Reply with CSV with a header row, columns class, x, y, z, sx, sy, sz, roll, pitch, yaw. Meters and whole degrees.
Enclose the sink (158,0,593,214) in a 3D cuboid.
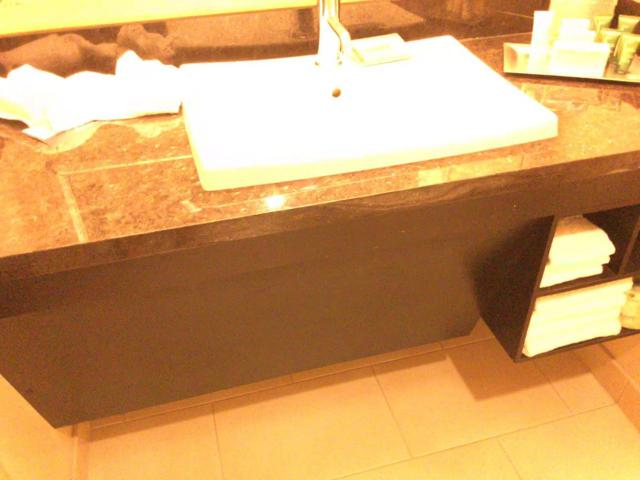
class,x,y,z,sx,sy,sz,roll,pitch,yaw
sink,0.080,-0.300,1.110,0.710,0.290,0.300,-8,39,-12
